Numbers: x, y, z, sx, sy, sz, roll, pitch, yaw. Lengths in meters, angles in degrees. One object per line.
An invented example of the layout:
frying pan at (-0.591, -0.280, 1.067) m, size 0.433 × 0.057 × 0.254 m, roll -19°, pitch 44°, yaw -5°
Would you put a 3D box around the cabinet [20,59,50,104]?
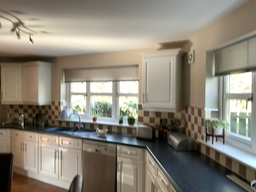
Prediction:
cabinet at (-1.890, -0.280, 4.330) m, size 0.490 × 0.860 × 0.320 m, roll 1°, pitch 2°, yaw 29°
